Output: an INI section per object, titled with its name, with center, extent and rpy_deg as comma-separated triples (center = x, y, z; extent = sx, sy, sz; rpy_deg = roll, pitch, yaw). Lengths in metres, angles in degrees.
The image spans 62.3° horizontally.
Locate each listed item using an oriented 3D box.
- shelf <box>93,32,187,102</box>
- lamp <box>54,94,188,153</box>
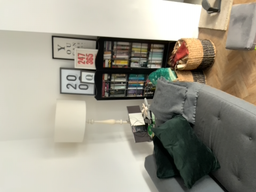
[shelf]
center = 0.140, -0.350, 2.720
extent = 0.240, 1.100, 0.800
rpy_deg = -131, 44, -61
[lamp]
center = -0.100, 0.290, 2.710
extent = 0.520, 1.580, 0.460
rpy_deg = -132, 44, -62
